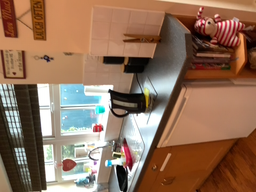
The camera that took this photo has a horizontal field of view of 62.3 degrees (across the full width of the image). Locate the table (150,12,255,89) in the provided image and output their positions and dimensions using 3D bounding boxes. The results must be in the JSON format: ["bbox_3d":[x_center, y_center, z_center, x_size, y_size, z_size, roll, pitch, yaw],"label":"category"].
[{"bbox_3d":[0.650,-0.270,1.310,0.340,0.920,0.280,-111,26,-45],"label":"table"}]
